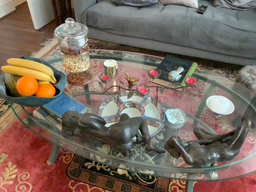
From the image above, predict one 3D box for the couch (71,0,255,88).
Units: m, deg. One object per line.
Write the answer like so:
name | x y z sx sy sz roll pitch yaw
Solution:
couch | 0.600 -0.880 2.040 2.000 0.920 0.990 13 43 12
